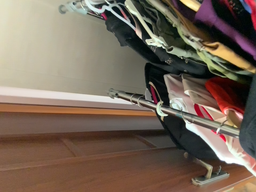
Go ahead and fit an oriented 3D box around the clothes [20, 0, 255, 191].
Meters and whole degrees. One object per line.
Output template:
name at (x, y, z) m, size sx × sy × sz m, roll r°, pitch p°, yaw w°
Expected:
clothes at (0.490, -0.090, 0.990) m, size 1.310 × 1.480 × 0.580 m, roll 20°, pitch 100°, yaw 49°
